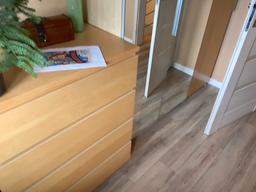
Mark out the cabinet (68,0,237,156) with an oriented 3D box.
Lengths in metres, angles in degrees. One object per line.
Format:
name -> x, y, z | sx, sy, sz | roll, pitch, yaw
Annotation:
cabinet -> 0.330, -0.750, 1.730 | 0.520, 2.070, 1.530 | 32, 46, 32
